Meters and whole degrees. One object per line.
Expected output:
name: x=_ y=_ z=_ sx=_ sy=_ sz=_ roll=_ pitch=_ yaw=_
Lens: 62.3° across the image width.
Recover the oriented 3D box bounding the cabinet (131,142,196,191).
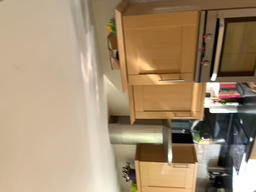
cabinet: x=0.510 y=1.200 z=3.160 sx=0.330 sy=0.830 sz=1.020 roll=-77 pitch=-15 yaw=-58
